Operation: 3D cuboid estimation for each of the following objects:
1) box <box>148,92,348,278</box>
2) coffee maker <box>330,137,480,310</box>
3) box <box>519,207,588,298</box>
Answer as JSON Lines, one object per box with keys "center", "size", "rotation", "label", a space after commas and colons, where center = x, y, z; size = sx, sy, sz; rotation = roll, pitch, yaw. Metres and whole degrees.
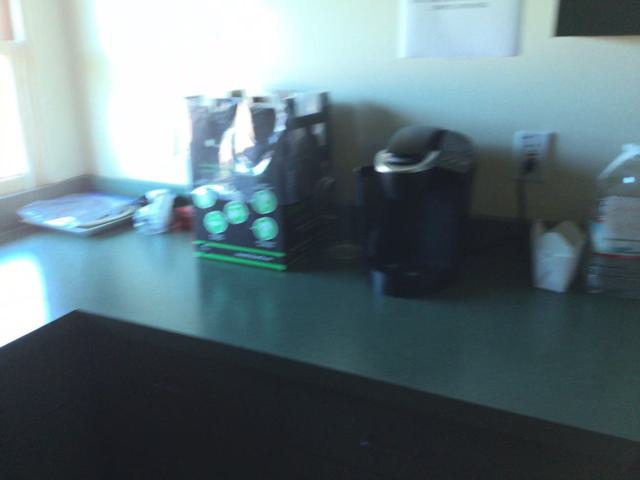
{"center": [-0.160, -0.160, 1.430], "size": [0.360, 0.390, 0.310], "rotation": [6, 17, 26], "label": "box"}
{"center": [0.180, -0.050, 1.200], "size": [0.240, 0.300, 0.220], "rotation": [6, 17, 26], "label": "coffee maker"}
{"center": [0.500, 0.020, 1.230], "size": [0.110, 0.140, 0.190], "rotation": [6, 17, 26], "label": "box"}
